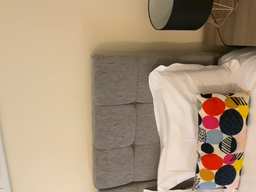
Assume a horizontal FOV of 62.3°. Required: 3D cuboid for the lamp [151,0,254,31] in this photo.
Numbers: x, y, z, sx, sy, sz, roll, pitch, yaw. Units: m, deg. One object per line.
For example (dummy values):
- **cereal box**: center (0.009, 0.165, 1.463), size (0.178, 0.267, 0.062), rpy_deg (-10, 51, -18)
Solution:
- **lamp**: center (0.350, -0.450, 1.020), size (0.230, 0.410, 0.250), rpy_deg (-140, 48, -65)
